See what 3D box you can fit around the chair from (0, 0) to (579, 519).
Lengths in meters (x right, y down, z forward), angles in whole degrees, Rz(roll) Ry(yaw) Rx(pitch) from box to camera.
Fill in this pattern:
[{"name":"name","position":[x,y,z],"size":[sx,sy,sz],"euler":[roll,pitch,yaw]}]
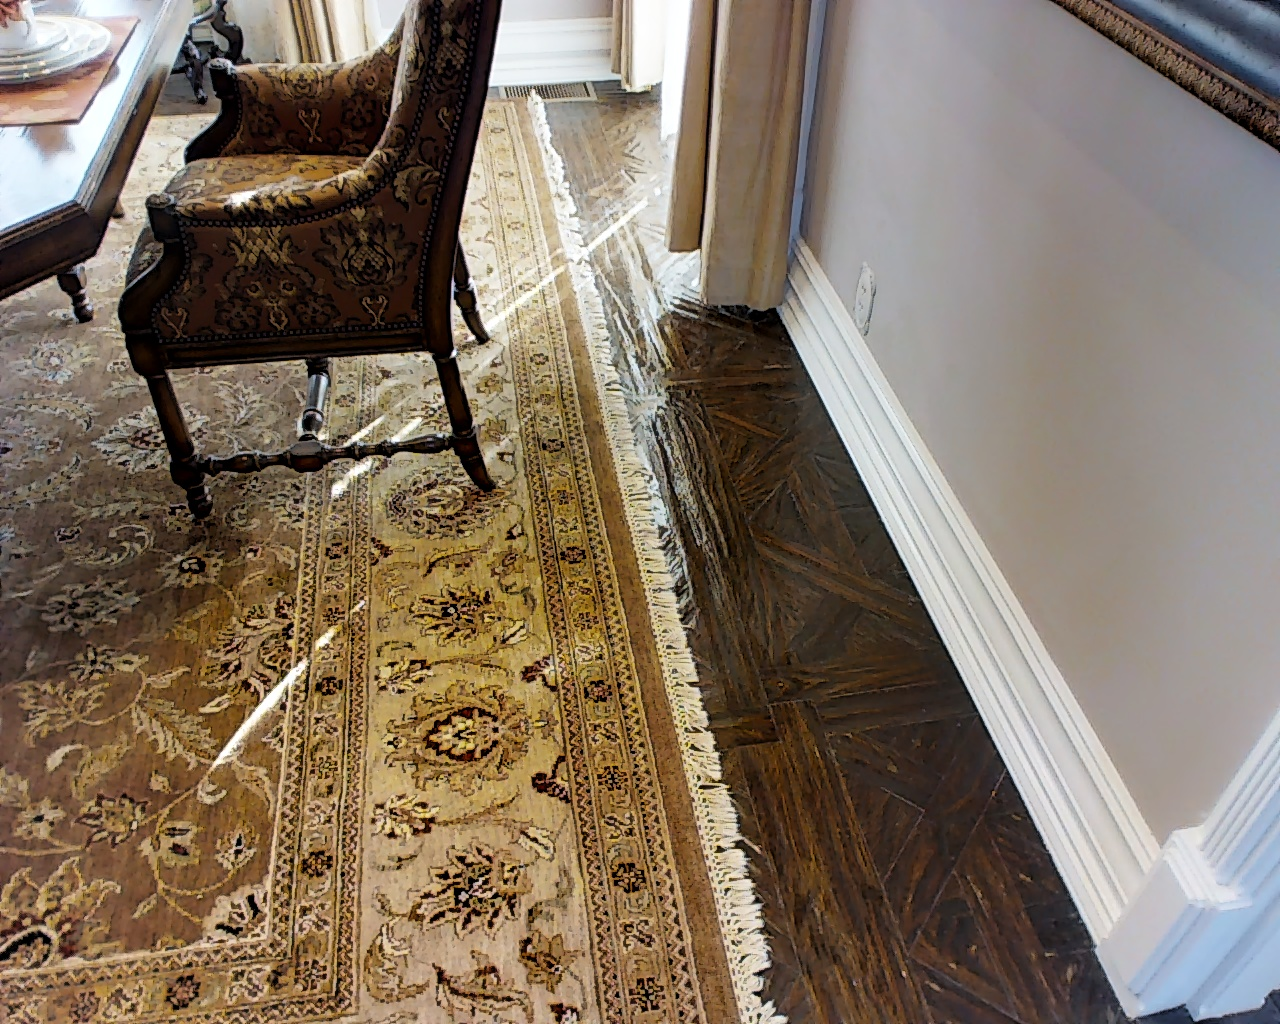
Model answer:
[{"name":"chair","position":[-0.570,-0.680,1.990],"size":[0.850,1.160,0.720],"euler":[-3,43,-5]}]
